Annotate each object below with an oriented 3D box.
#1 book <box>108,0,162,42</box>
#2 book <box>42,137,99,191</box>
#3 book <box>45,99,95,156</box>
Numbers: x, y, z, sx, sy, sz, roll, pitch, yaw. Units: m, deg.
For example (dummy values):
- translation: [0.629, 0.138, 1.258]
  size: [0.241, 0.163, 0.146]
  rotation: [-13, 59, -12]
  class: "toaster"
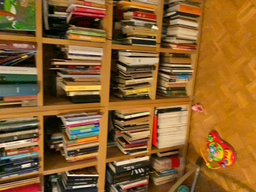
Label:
- translation: [0.050, -0.580, 1.570]
  size: [0.240, 0.320, 0.300]
  rotation: [11, 102, 61]
  class: "book"
- translation: [-0.430, 0.580, 1.570]
  size: [0.260, 0.350, 0.450]
  rotation: [14, 105, 60]
  class: "book"
- translation: [-0.420, 0.200, 1.510]
  size: [0.330, 0.270, 0.300]
  rotation: [16, 107, 60]
  class: "book"
